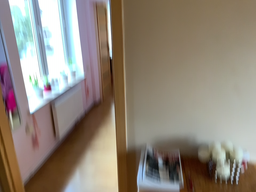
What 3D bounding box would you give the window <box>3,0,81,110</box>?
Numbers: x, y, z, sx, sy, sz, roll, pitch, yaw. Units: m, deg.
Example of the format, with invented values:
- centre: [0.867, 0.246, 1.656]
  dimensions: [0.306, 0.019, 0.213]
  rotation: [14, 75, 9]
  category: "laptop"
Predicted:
- centre: [-1.090, -1.000, 2.970]
  dimensions: [0.170, 1.920, 1.600]
  rotation: [1, 20, 6]
  category: "window"
